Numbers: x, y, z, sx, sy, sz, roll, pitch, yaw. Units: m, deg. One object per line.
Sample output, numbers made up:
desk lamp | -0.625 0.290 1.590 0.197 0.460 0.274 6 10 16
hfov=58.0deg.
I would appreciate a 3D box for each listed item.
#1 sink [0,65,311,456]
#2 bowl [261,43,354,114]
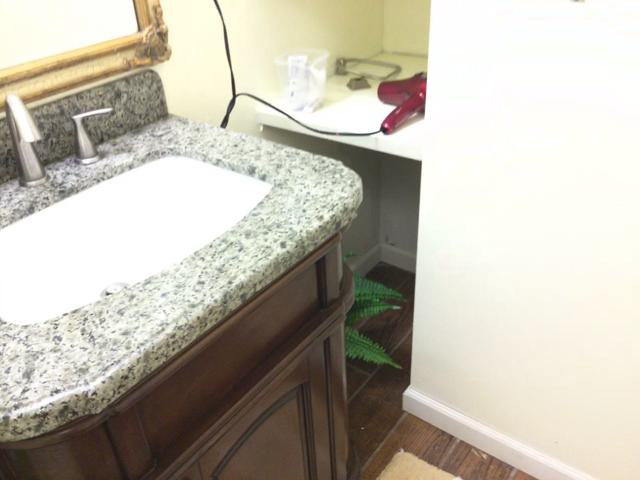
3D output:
sink | -0.340 -0.030 0.930 0.440 0.330 0.470 20 39 32
bowl | -0.030 -0.420 1.490 0.180 0.120 0.150 20 39 32
